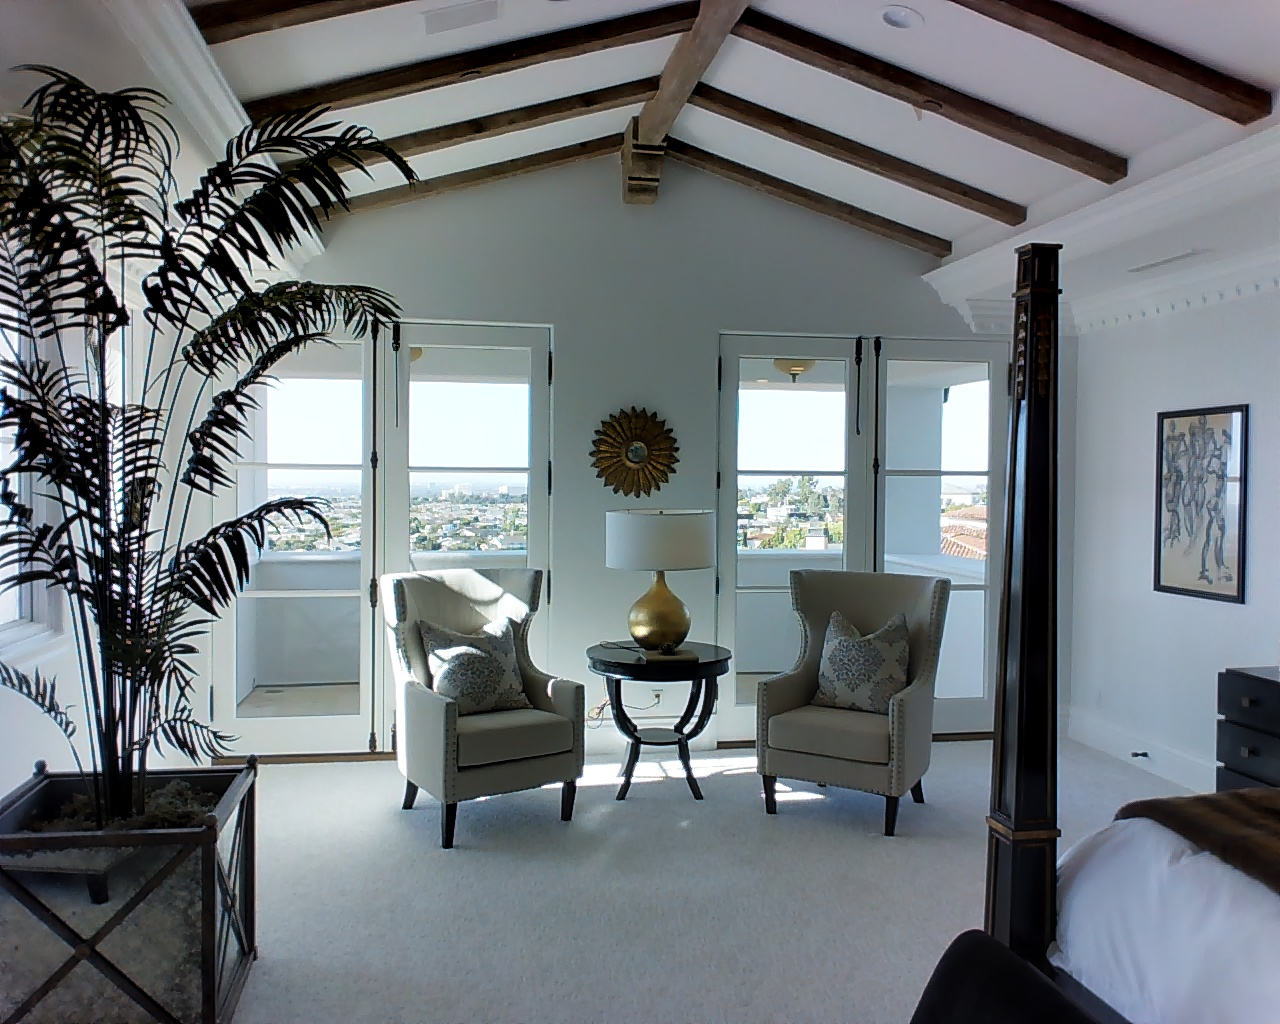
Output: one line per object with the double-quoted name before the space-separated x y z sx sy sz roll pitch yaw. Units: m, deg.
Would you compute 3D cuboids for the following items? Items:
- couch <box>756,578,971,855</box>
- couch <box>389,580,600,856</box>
"couch" 1.120 0.940 5.310 0.790 1.130 0.860 1 1 31
"couch" -0.710 0.920 5.140 0.720 1.100 0.790 0 1 -34
